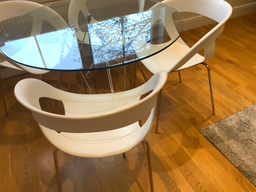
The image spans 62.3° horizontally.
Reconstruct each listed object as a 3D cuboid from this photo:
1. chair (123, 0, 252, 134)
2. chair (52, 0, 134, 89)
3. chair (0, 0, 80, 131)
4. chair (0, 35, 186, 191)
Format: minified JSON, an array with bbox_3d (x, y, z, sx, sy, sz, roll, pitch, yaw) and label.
[{"bbox_3d":[0.340,-0.270,1.550,0.520,0.750,0.610,-17,42,-17],"label":"chair"},{"bbox_3d":[-0.240,-0.550,1.910,0.500,0.780,0.530,4,40,8],"label":"chair"},{"bbox_3d":[-0.770,-0.240,1.570,0.530,0.780,0.550,5,40,9],"label":"chair"},{"bbox_3d":[-0.130,0.180,1.040,0.590,0.740,0.520,-4,40,-1],"label":"chair"}]
